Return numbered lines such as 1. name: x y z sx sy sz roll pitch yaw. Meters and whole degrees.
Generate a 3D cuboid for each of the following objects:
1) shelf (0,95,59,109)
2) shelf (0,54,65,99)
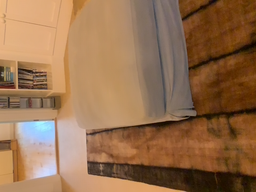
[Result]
1. shelf: -1.570 0.080 2.830 0.220 1.220 0.150 -20 74 51
2. shelf: -1.820 -0.240 2.560 0.470 1.960 0.450 -20 74 51
